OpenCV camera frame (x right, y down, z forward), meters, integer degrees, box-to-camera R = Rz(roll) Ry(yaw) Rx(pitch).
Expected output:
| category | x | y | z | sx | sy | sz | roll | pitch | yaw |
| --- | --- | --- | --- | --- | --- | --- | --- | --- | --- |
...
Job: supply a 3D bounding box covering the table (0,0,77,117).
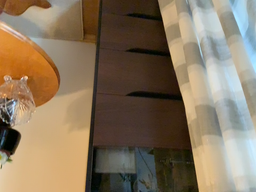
| category | x | y | z | sx | sy | sz | roll | pitch | yaw |
| --- | --- | --- | --- | --- | --- | --- | --- | --- | --- |
| table | -0.550 | -0.340 | 0.850 | 0.600 | 0.630 | 0.600 | 4 | 150 | -9 |
